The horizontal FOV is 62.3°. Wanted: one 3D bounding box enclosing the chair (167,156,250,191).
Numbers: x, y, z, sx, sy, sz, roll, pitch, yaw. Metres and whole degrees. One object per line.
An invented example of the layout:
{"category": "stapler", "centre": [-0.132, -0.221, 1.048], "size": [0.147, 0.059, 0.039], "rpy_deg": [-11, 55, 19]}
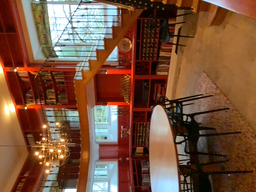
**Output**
{"category": "chair", "centre": [0.950, 1.000, 2.620], "size": [0.490, 0.800, 0.470], "rpy_deg": [104, 165, -74]}

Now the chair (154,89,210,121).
{"category": "chair", "centre": [0.890, 0.150, 3.580], "size": [0.470, 0.800, 0.500], "rpy_deg": [150, 119, -85]}

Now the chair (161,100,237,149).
{"category": "chair", "centre": [0.930, 0.390, 2.940], "size": [0.470, 0.800, 0.490], "rpy_deg": [-95, 6, -49]}

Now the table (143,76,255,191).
{"category": "table", "centre": [0.870, 1.130, 3.650], "size": [2.180, 0.830, 2.230], "rpy_deg": [-97, 8, -59]}

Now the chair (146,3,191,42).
{"category": "chair", "centre": [0.830, -1.530, 4.490], "size": [0.540, 0.810, 0.570], "rpy_deg": [110, 160, -78]}
